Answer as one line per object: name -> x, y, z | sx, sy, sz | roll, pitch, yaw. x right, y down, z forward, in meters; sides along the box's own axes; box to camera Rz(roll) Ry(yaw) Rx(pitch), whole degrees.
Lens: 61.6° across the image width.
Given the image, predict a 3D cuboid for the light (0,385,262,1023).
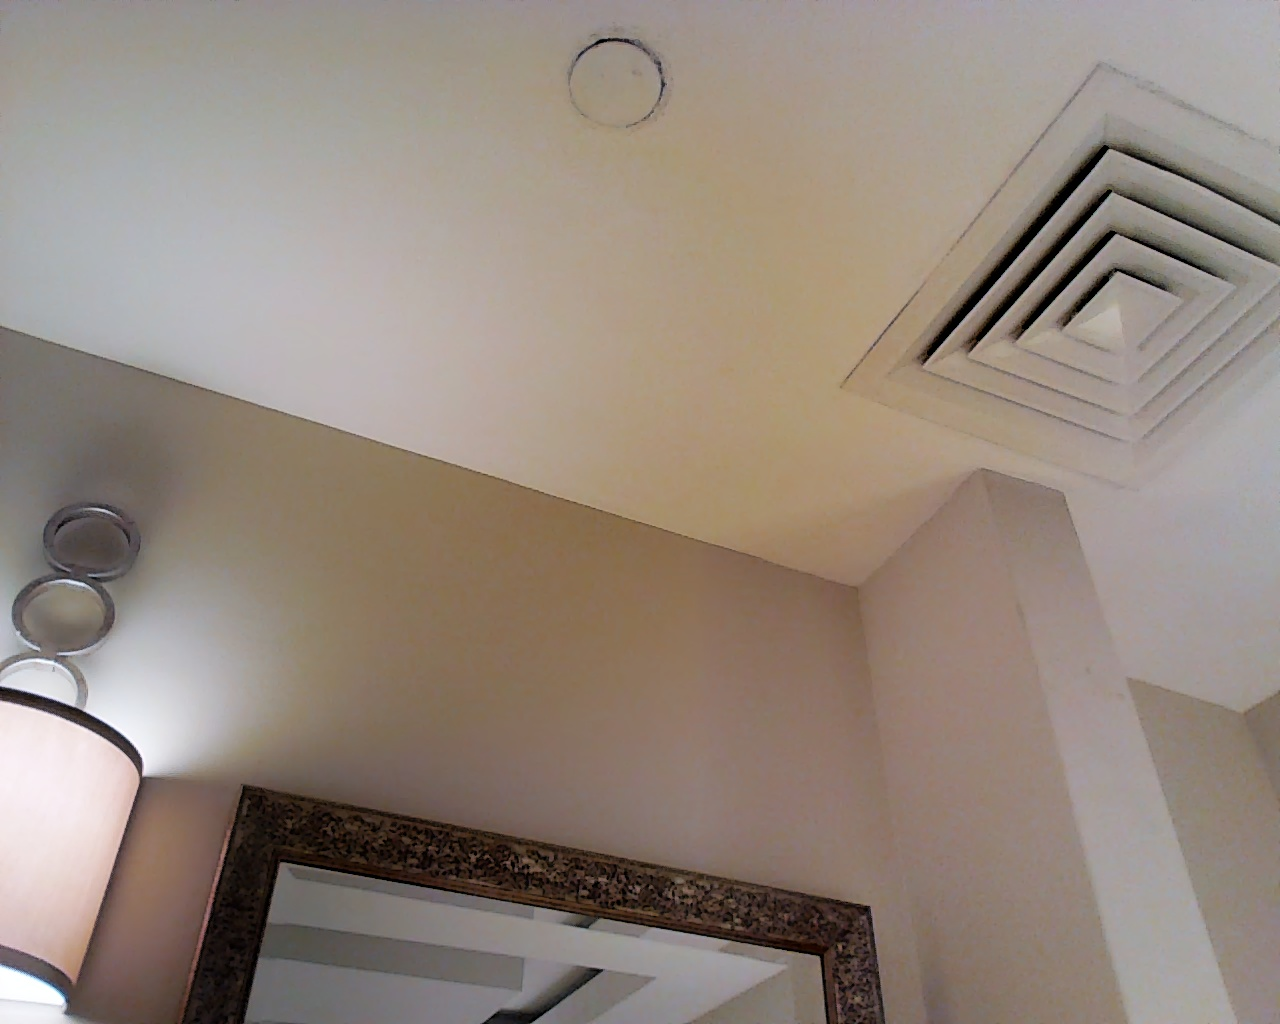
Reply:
light -> -0.540, 0.250, 0.860 | 0.260, 0.790, 0.140 | 16, -43, -17
